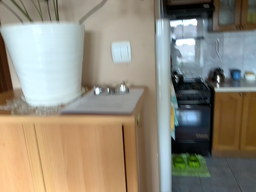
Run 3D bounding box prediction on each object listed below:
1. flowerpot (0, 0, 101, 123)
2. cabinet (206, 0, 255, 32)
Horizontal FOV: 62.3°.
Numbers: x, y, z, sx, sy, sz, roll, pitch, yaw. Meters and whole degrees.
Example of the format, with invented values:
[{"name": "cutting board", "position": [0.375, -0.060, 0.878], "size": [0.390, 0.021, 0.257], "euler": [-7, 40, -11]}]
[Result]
[{"name": "flowerpot", "position": [-0.290, -0.220, 0.710], "size": [0.280, 0.550, 0.270], "euler": [-1, 15, 10]}, {"name": "cabinet", "position": [1.410, -1.130, 2.420], "size": [0.910, 0.710, 0.310], "euler": [-1, 15, 10]}]
